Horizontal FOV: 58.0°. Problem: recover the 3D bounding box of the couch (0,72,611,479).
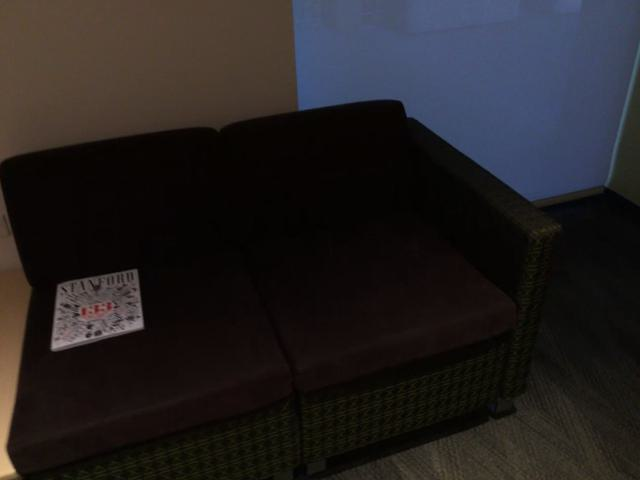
[{"bbox_3d":[-0.120,0.120,1.580,1.290,0.770,0.810,-12,34,-14],"label":"couch"}]
